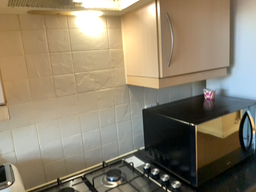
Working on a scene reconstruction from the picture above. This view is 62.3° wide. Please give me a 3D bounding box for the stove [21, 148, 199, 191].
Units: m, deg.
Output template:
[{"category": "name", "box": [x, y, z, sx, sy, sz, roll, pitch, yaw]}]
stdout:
[{"category": "stove", "box": [-0.090, 0.400, 0.860, 0.560, 0.030, 0.540, -12, 14, -31]}]
